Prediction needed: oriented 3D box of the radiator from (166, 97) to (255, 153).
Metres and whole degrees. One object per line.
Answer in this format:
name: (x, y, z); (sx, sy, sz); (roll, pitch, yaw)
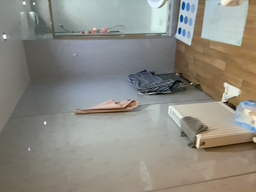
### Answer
radiator: (0.780, 0.230, 2.030); (0.710, 0.590, 0.120); (-119, 28, -62)
